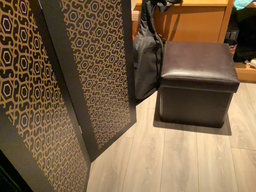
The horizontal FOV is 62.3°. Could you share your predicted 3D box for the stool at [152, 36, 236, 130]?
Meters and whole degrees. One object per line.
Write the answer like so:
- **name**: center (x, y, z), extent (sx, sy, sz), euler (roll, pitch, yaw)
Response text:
- **stool**: center (0.400, -0.100, 1.400), extent (0.420, 0.410, 0.420), euler (6, 44, 12)
